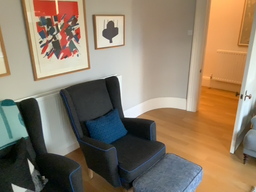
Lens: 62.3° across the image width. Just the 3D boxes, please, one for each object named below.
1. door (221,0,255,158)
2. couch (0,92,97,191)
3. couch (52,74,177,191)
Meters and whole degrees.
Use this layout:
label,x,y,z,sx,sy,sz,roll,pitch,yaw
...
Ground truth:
label,x,y,z,sx,sy,sz,roll,pitch,yaw
door,1.520,-0.410,2.620,0.160,2.280,0.810,15,26,36
couch,-0.780,0.620,1.500,0.900,0.980,0.680,17,27,39
couch,-0.140,0.380,2.180,0.980,0.940,0.690,17,27,39
